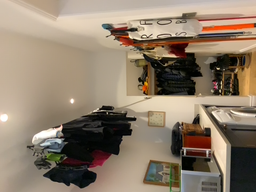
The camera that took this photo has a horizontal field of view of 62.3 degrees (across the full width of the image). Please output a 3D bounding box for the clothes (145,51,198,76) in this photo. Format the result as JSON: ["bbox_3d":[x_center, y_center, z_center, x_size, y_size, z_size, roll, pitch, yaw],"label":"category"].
[{"bbox_3d":[0.910,-0.640,4.430,1.320,0.920,0.410,-24,-66,-76],"label":"clothes"}]

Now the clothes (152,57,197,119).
[{"bbox_3d":[1.070,-0.200,4.920,0.450,0.970,1.350,-30,-60,-75],"label":"clothes"}]

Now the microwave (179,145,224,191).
[{"bbox_3d":[0.560,0.680,1.700,0.470,0.280,0.400,-29,-61,-75],"label":"microwave"}]
